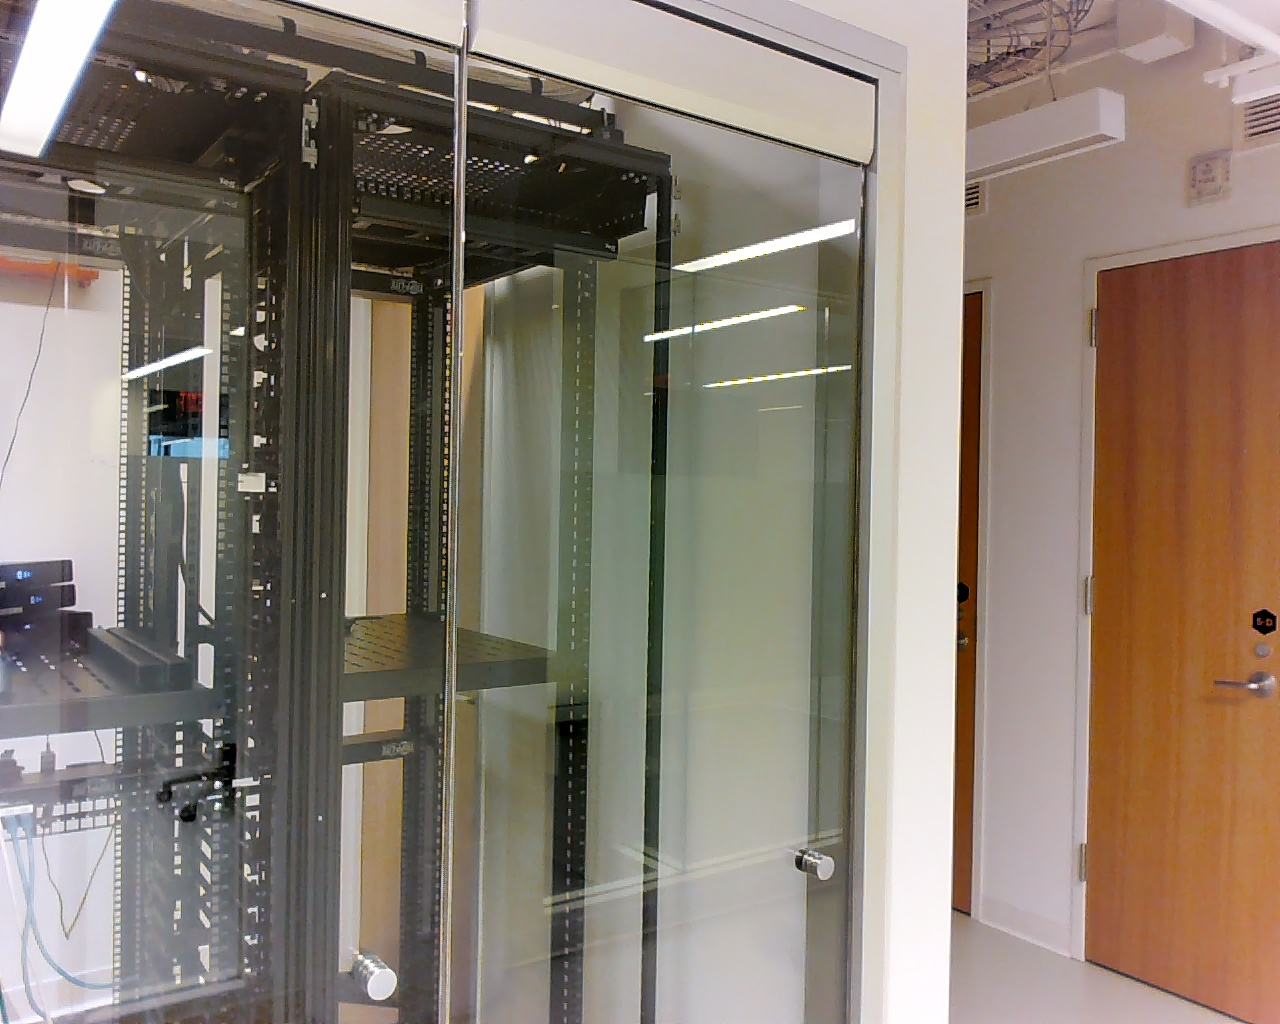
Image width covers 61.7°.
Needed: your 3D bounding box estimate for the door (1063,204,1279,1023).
[{"bbox_3d":[1.600,0.300,3.190,0.030,2.311,0.680,1,0,-36],"label":"door"}]
